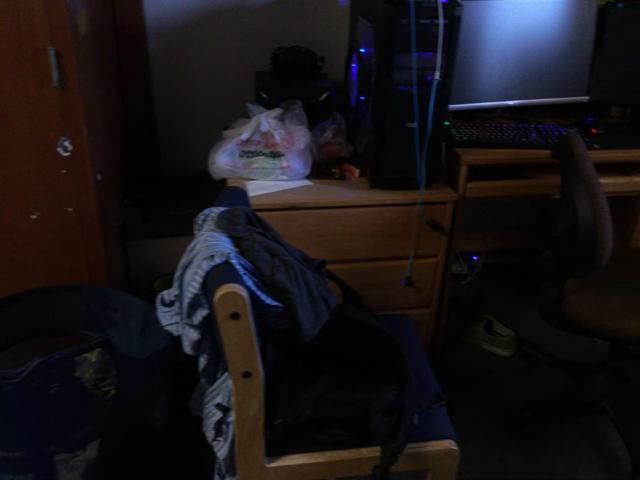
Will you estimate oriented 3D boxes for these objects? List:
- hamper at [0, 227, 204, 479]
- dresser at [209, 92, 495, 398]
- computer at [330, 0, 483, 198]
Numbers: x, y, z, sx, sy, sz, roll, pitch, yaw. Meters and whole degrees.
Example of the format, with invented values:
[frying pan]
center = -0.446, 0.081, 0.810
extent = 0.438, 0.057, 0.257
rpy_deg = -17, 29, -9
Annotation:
[hamper]
center = -0.570, 0.400, 1.340
extent = 0.550, 0.650, 0.560
rpy_deg = -3, 29, -10
[dresser]
center = 0.030, -0.030, 2.030
extent = 0.770, 0.790, 0.700
rpy_deg = -3, 29, -10
[computer]
center = 0.220, -0.510, 1.730
extent = 0.260, 0.600, 0.510
rpy_deg = -3, 29, -10
